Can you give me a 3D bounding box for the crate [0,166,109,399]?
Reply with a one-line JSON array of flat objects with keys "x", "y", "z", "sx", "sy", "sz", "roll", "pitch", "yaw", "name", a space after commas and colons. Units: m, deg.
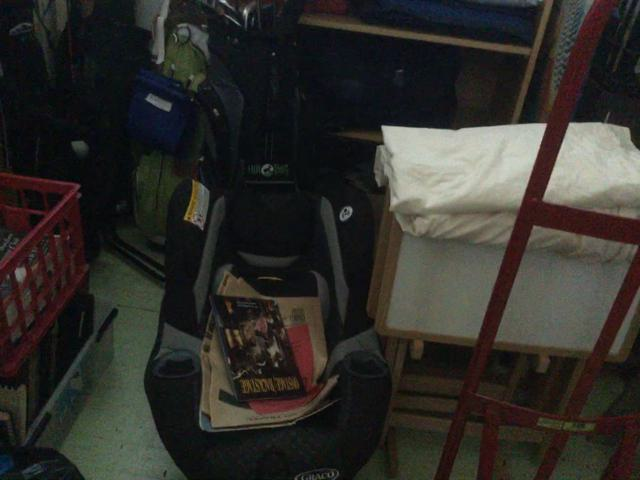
[{"x": -0.750, "y": 0.060, "z": 1.260, "sx": 0.390, "sy": 0.280, "sz": 0.420, "roll": 8, "pitch": 33, "yaw": 2, "name": "crate"}]
